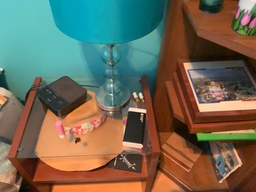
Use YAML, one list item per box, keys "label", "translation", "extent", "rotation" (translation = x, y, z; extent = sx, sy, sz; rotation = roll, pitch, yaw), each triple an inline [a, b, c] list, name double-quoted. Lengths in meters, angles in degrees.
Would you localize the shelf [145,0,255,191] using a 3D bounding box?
- label: "shelf"
  translation: [0.310, -0.510, 0.230]
  extent: [0.340, 2.350, 0.380]
  rotation: [2, 47, -1]
